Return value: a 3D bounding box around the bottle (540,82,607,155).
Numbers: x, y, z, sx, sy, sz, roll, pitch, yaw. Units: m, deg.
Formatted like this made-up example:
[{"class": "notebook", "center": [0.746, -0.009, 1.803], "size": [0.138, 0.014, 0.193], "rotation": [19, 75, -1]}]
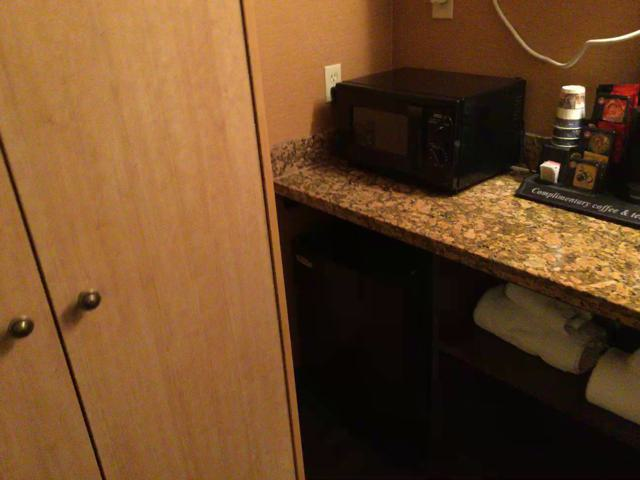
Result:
[{"class": "bottle", "center": [0.660, -0.320, 1.510], "size": [0.120, 0.150, 0.110], "rotation": [-27, 31, -33]}]
